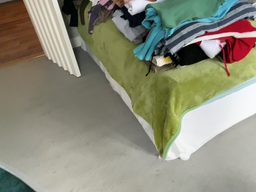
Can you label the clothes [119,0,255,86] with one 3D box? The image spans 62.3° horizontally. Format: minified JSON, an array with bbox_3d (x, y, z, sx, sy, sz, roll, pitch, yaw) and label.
[{"bbox_3d":[0.330,-0.400,1.050,0.610,0.340,0.410,-24,43,-17],"label":"clothes"}]
